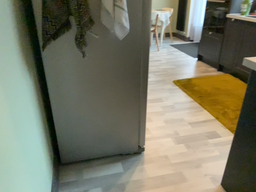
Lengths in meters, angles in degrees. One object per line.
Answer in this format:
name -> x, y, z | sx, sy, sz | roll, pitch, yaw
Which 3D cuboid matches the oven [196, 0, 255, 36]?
oven -> 1.590, -1.300, 3.470 | 0.610, 0.490, 0.620 | -6, 28, -12
